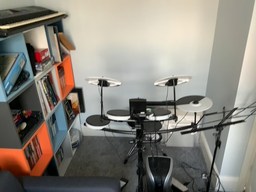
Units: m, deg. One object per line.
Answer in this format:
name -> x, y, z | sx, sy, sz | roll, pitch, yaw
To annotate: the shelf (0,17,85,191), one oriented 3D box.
shelf -> -0.760, 0.090, 1.860 | 0.300, 1.360, 1.100 | 1, 26, 6
